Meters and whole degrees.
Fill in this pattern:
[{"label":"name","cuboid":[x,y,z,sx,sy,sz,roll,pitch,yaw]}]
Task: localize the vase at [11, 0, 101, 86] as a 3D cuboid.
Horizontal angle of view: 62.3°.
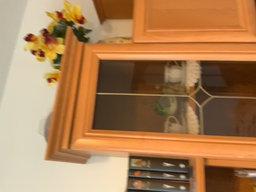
[{"label":"vase","cuboid":[-0.340,-0.290,1.110,0.280,0.300,0.390,74,-161,-70]}]
